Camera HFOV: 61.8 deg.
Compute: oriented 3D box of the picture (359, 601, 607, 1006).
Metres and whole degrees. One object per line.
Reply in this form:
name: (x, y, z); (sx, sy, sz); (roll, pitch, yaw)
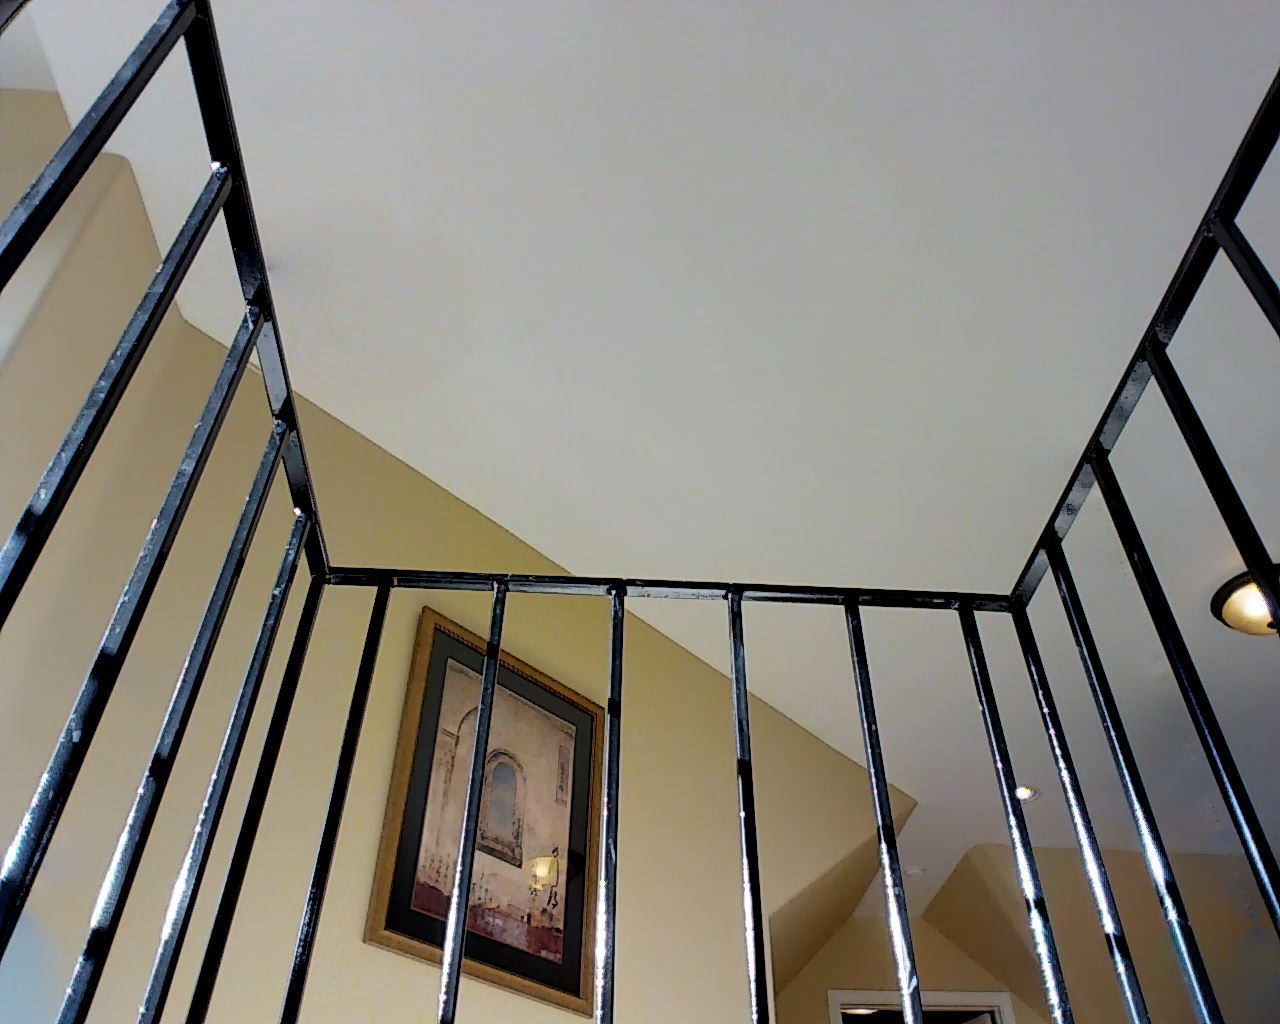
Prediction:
picture: (-0.400, 0.840, 3.140); (0.040, 0.970, 0.810); (-31, -50, 30)
